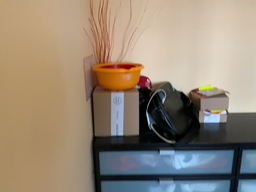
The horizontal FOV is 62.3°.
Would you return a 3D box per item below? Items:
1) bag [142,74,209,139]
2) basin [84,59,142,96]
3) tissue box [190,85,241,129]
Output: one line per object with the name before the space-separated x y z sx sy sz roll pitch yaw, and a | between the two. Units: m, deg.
bag | 0.270 0.040 1.380 0.330 0.300 0.440 -1 15 0
basin | -0.070 -0.130 1.330 0.310 0.160 0.390 0 15 2
tissue box | 0.600 0.070 1.500 0.250 0.250 0.220 -1 15 0
